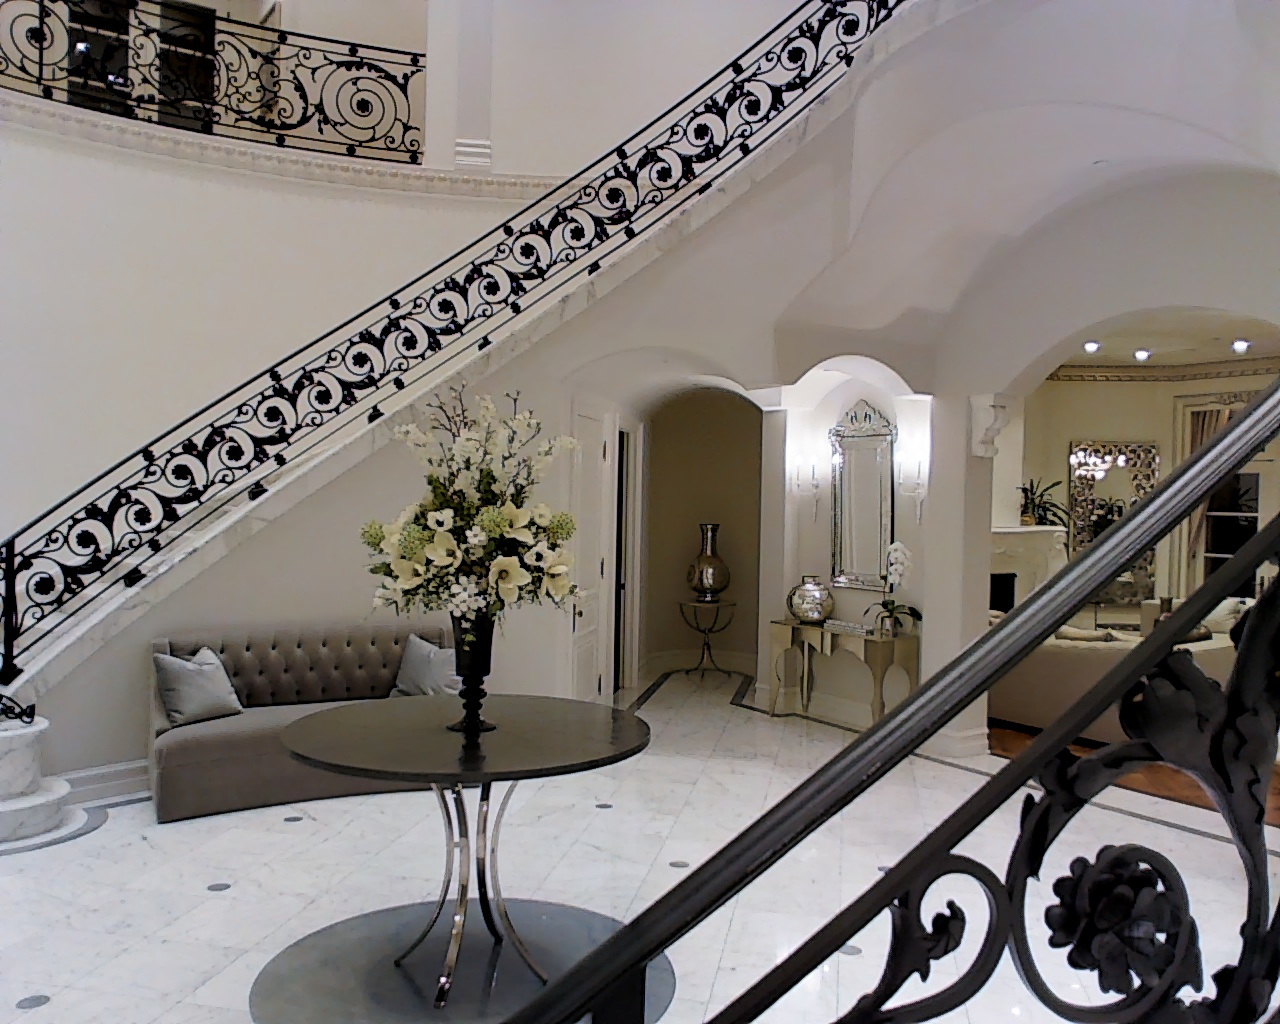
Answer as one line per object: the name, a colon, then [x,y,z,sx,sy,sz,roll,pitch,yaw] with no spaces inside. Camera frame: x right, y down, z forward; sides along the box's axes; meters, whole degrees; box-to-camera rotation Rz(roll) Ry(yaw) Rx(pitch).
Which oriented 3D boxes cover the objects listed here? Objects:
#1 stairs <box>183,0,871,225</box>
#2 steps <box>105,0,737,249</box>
stairs: [-1.090,-4.711,8.590,5.379,3.651,2.130,1,1,34]
steps: [-1.320,-4.091,8.700,1.940,2.651,5.080,1,1,34]
